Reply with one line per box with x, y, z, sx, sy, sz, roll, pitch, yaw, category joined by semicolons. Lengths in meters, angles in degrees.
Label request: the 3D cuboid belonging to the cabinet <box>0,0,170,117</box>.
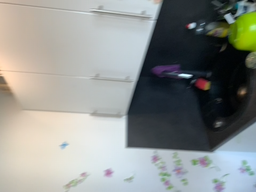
-0.270;-0.350;1.030;1.200;0.730;0.370;107;165;-57;cabinet
